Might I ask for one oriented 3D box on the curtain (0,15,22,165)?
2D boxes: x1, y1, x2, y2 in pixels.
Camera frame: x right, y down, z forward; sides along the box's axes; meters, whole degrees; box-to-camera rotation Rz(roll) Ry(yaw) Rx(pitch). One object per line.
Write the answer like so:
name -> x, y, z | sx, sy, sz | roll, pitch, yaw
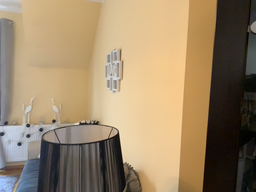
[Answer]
curtain -> -2.150, -0.070, 3.360 | 0.810, 2.330, 0.270 | 1, 5, -20
